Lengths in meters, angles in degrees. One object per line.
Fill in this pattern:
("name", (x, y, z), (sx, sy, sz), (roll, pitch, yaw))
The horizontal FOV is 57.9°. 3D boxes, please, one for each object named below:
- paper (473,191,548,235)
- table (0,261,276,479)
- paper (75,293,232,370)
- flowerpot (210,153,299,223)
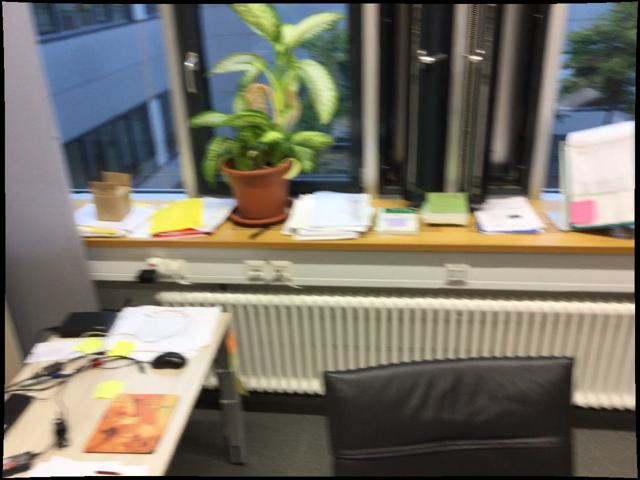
("paper", (0.719, -0.110, 2.220), (0.230, 0.020, 0.350), (2, 28, 9))
("table", (-0.629, 0.711, 1.810), (0.669, 0.771, 1.210), (2, 28, 9))
("paper", (-0.549, 0.300, 1.970), (0.420, 0.060, 0.320), (2, 28, 9))
("flowerpot", (-0.250, -0.210, 2.280), (0.290, 0.210, 0.200), (2, 28, 9))
